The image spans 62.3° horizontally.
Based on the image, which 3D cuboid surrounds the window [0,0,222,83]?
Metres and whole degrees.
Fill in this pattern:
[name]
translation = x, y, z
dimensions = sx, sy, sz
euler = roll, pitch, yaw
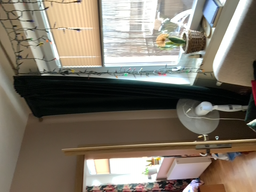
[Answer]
[window]
translation = -0.140, -0.800, 1.600
dimensions = 1.890, 1.710, 0.210
euler = 95, 172, -54
